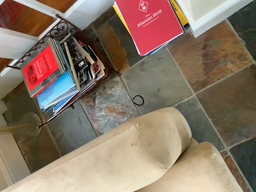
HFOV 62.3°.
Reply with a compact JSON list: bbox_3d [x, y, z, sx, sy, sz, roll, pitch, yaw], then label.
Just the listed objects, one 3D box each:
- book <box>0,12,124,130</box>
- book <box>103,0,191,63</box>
[{"bbox_3d":[-0.370,-0.110,1.170,0.500,0.370,0.350,-29,84,19],"label":"book"},{"bbox_3d":[0.110,-0.360,1.040,0.280,0.290,0.280,-23,86,20],"label":"book"}]
